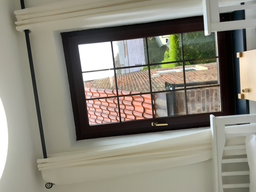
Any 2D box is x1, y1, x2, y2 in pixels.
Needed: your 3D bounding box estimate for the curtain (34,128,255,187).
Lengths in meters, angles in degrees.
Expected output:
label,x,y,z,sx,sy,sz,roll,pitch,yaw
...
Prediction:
label,x,y,z,sx,sy,sz,roll,pitch,yaw
curtain,0.160,0.520,1.810,0.090,1.860,0.320,-90,-6,-84
